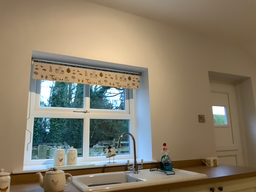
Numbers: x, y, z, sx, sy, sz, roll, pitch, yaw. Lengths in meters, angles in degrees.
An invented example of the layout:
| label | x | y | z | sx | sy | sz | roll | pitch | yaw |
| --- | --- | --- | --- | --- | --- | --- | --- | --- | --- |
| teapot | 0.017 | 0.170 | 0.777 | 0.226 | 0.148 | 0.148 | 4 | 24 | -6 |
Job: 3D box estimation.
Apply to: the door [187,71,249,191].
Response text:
| label | x | y | z | sx | sy | sz | roll | pitch | yaw |
| --- | --- | --- | --- | --- | --- | --- | --- | --- | --- |
| door | 1.280 | 0.690 | 2.980 | 0.890 | 2.040 | 0.090 | 4 | -12 | -26 |
